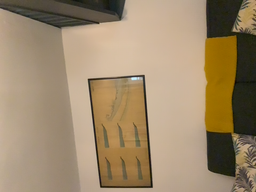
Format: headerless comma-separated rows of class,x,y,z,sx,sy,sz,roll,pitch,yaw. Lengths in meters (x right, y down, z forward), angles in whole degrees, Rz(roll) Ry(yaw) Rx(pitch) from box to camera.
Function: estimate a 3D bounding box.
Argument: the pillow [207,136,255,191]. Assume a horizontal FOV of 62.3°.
pillow,1.080,0.680,1.840,0.230,0.380,0.630,4,-50,-40
